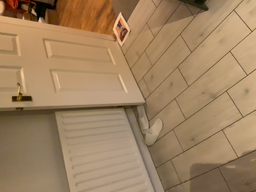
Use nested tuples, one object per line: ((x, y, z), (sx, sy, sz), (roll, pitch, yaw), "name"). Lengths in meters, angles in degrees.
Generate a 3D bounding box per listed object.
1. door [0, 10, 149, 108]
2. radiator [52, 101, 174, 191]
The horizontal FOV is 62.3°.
((-0.780, -0.300, 1.520), (0.040, 1.990, 0.880), (-51, 52, 41), "door")
((0.000, 0.690, 1.470), (0.070, 0.760, 1.490), (-48, 53, 43), "radiator")
